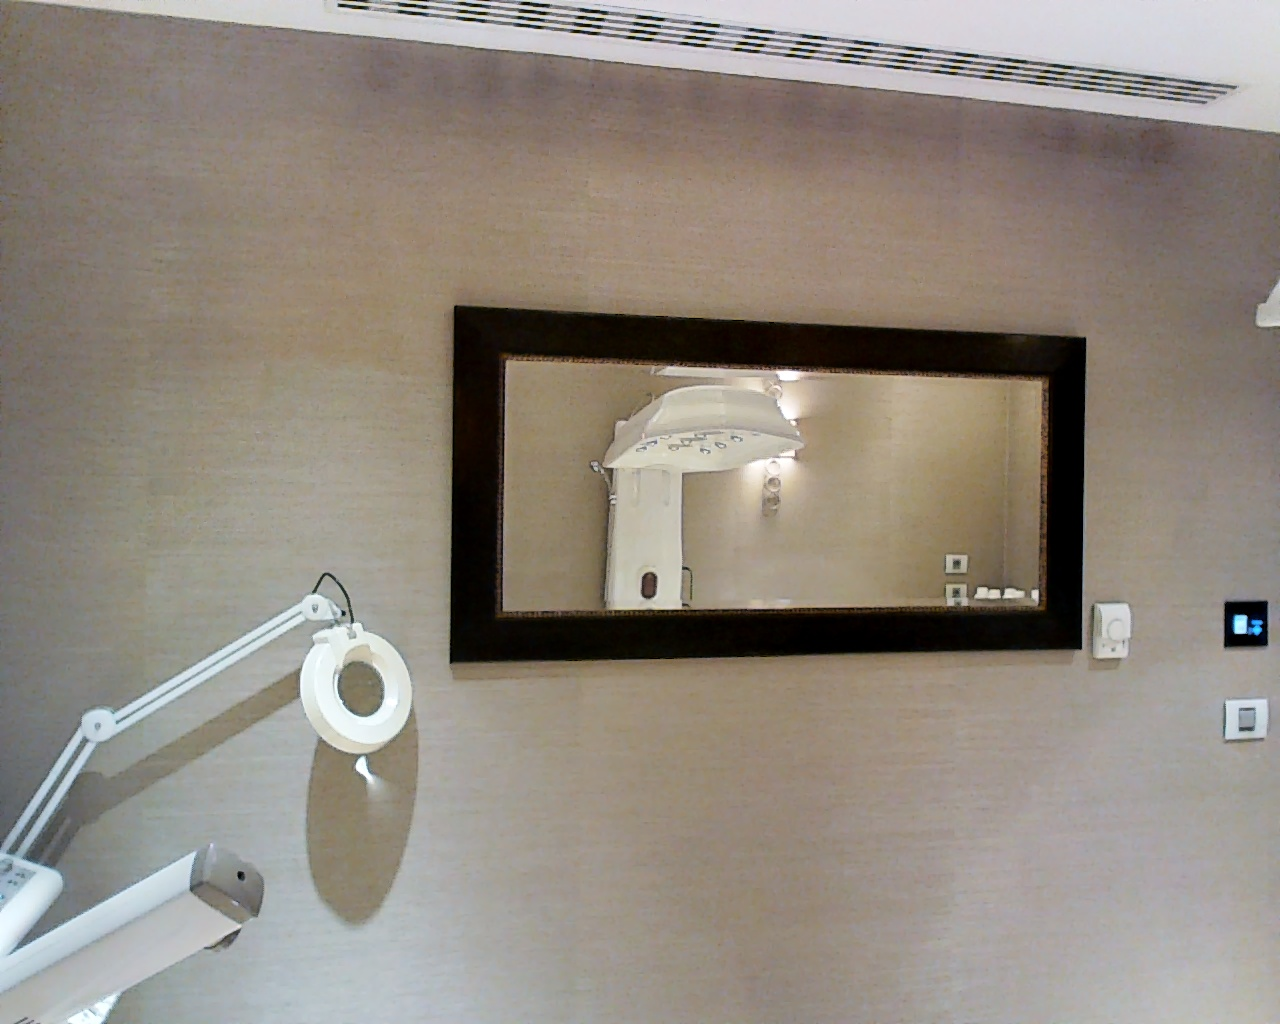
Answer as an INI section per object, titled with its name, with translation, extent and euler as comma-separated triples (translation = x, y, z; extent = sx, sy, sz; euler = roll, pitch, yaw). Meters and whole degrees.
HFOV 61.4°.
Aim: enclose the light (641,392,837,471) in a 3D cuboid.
[light]
translation = 0.350, -0.280, 3.840
extent = 0.650, 0.250, 0.250
euler = 0, 0, -13
